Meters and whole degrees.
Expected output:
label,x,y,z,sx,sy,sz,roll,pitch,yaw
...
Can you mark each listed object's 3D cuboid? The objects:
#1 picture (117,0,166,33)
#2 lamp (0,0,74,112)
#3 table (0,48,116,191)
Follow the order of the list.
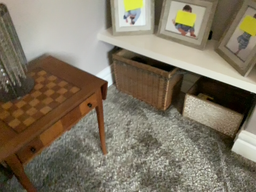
label,x,y,z,sx,sy,sz,roll,pitch,yaw
picture,0.100,-0.640,1.520,0.230,0.240,0.280,25,48,28
lamp,-0.470,-0.190,0.910,0.260,0.330,0.310,27,48,29
table,-0.440,0.180,1.170,0.460,0.600,0.560,26,48,29
